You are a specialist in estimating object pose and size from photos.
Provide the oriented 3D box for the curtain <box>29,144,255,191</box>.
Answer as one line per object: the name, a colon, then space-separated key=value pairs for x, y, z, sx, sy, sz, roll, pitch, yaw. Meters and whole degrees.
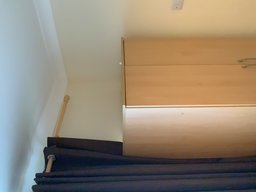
curtain: x=0.400 y=0.570 z=1.280 sx=0.530 sy=1.910 sz=0.150 roll=-93 pitch=3 yaw=-46
